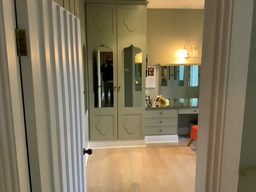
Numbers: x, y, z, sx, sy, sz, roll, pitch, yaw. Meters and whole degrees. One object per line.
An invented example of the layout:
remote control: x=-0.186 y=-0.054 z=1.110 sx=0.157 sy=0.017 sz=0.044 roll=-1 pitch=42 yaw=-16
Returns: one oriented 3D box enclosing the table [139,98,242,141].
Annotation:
table: x=1.280 y=0.470 z=4.510 sx=2.040 sy=0.730 sz=0.490 roll=-1 pitch=10 yaw=-6
